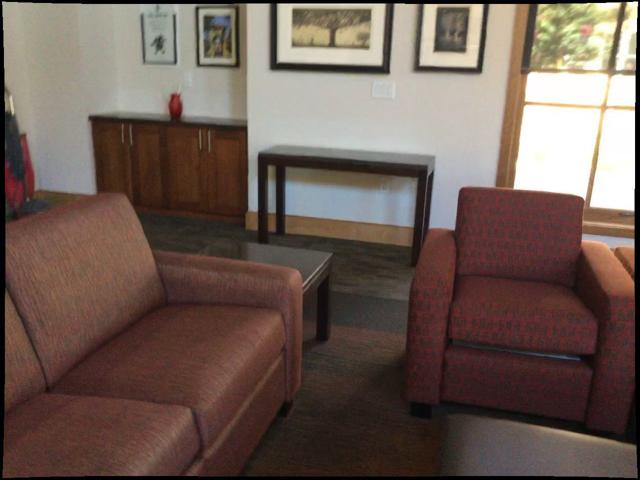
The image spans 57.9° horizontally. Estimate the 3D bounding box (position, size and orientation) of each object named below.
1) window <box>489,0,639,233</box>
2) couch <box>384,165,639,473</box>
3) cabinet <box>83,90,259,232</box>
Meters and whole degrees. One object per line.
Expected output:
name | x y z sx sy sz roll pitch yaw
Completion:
window | 1.878 -1.061 3.710 1.229 1.902 0.460 9 21 16
couch | 0.829 0.240 2.350 0.899 0.821 0.750 11 21 15
cabinet | -1.259 -0.671 4.820 1.489 0.931 0.190 11 21 15
